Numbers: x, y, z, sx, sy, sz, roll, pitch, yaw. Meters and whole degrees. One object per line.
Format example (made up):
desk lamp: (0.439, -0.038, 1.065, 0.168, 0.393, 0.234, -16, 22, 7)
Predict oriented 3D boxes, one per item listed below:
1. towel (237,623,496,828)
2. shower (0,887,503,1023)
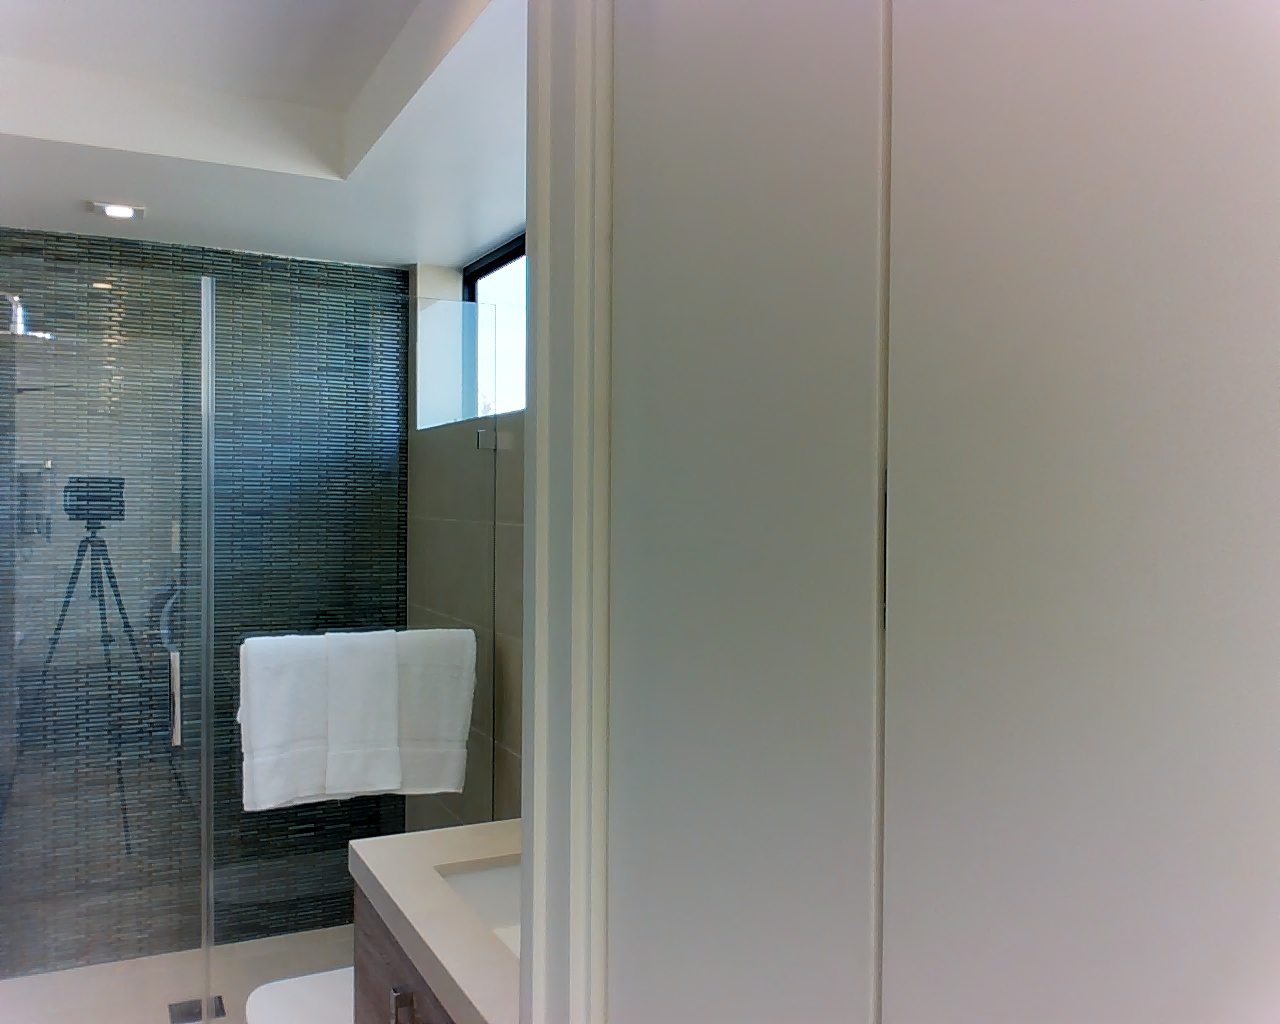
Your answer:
towel: (-0.700, 0.530, 2.780, 0.620, 0.440, 0.190, 0, 1, -26)
shower: (-1.270, 1.420, 3.110, 1.480, 0.120, 1.020, 0, 1, -26)
